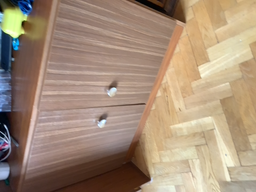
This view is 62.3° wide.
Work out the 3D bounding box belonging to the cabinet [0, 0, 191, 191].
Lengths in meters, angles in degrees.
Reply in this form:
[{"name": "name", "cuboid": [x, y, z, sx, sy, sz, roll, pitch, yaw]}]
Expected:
[{"name": "cabinet", "cuboid": [-0.490, -0.050, 0.830, 0.440, 1.560, 0.910, 34, 114, 37]}]
